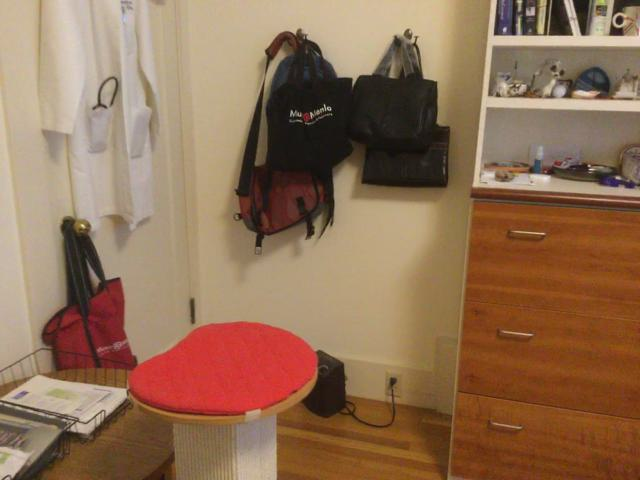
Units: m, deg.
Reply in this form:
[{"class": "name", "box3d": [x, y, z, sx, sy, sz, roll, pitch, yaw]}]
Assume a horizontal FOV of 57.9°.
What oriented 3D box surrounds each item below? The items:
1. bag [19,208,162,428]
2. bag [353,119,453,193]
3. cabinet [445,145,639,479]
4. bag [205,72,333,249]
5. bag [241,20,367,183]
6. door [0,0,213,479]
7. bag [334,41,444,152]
[{"class": "bag", "box3d": [-0.680, 0.220, 1.780, 0.180, 0.560, 0.360, 5, 17, 14]}, {"class": "bag", "box3d": [0.300, -0.310, 2.100, 0.340, 0.240, 0.120, 5, 17, 14]}, {"class": "cabinet", "box3d": [0.950, 0.280, 1.890, 0.970, 1.080, 0.510, 5, 17, 14]}, {"class": "bag", "box3d": [-0.180, -0.310, 2.180, 0.410, 0.620, 0.230, 5, 17, 14]}, {"class": "bag", "box3d": [-0.050, -0.500, 2.090, 0.380, 0.530, 0.260, 5, 17, 14]}, {"class": "door", "box3d": [-0.650, -0.280, 1.890, 0.110, 2.090, 0.940, 5, 17, 14]}, {"class": "bag", "box3d": [0.240, -0.500, 2.010, 0.340, 0.350, 0.210, 5, 17, 14]}]
